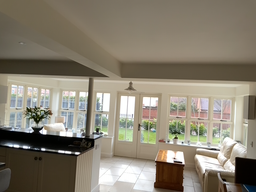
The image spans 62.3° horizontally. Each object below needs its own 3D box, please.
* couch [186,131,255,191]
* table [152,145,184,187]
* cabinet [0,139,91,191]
[{"bbox_3d":[2.000,1.410,4.740,1.040,0.950,2.030,3,-2,8],"label":"couch"},{"bbox_3d":[0.900,1.540,4.840,0.600,0.540,1.190,3,-2,10],"label":"table"},{"bbox_3d":[-1.860,1.210,3.480,2.410,0.820,0.530,3,-2,13],"label":"cabinet"}]
